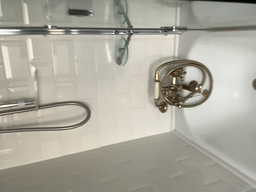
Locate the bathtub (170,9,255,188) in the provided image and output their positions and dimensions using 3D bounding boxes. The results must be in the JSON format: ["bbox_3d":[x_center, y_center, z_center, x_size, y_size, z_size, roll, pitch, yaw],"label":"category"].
[{"bbox_3d":[0.860,0.070,0.700,1.660,0.510,0.710,-149,55,-61],"label":"bathtub"}]
